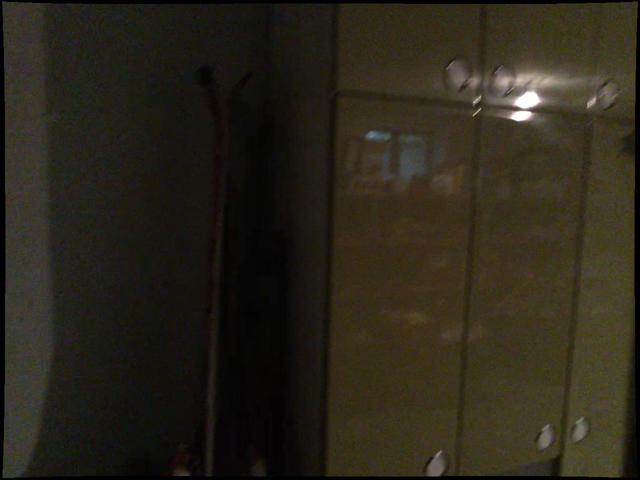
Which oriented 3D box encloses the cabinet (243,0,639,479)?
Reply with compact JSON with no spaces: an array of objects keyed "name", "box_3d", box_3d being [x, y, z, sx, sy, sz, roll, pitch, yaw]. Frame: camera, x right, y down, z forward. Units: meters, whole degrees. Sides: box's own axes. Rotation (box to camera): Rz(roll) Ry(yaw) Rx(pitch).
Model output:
[{"name":"cabinet","box_3d":[0.420,0.340,1.510,1.139,2.072,0.460,-3,10,-26]}]
